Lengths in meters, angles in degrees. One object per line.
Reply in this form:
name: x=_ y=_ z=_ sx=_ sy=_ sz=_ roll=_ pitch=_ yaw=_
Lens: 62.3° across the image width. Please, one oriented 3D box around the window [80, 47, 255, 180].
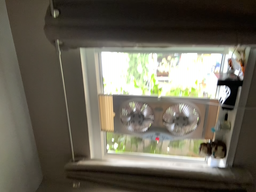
window: x=0.220 y=0.160 z=1.490 sx=0.110 sy=1.010 sz=0.960 roll=-75 pitch=-13 yaw=-61
